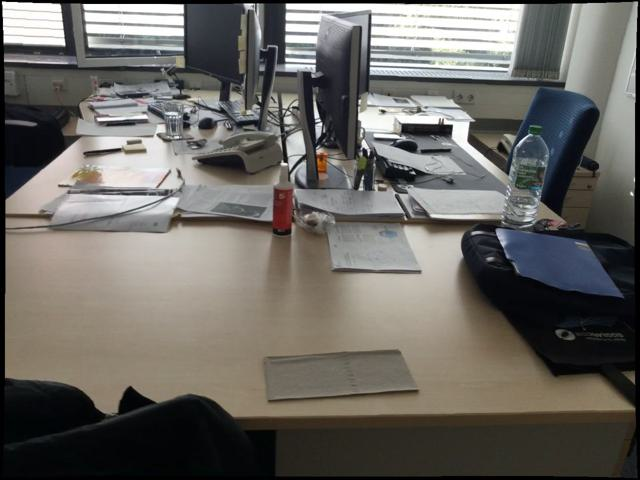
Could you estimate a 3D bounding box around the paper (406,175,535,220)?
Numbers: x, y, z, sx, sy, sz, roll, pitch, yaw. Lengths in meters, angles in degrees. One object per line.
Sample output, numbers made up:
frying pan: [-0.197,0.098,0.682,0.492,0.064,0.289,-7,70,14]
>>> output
paper: [0.440,-0.130,1.730,0.310,0.050,0.240,0,25,-5]

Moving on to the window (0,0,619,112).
window: [-0.260,-1.842,3.070,3.536,2.042,1.050,0,25,-6]

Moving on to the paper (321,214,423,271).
paper: [0.120,0.000,1.460,0.210,0.020,0.290,0,25,-6]

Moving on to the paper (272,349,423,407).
paper: [0.040,0.230,0.980,0.240,0.010,0.130,0,25,-6]
